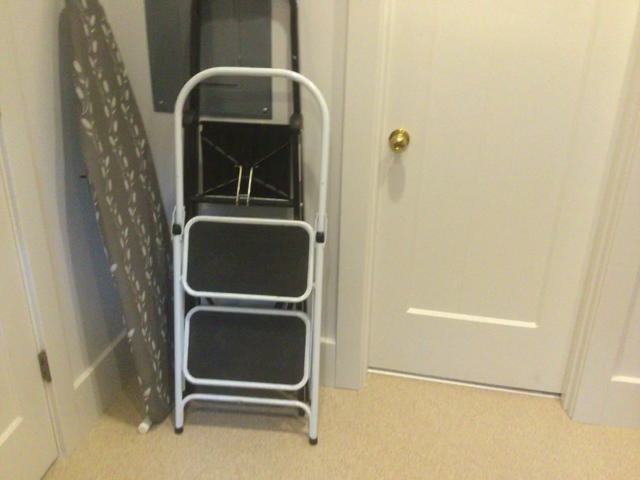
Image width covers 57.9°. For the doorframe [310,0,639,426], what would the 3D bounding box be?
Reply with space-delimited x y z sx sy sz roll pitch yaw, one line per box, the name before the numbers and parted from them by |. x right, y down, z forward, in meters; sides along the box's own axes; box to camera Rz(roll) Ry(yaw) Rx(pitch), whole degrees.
doorframe | 0.480 -0.440 1.600 0.990 2.110 0.170 5 24 9
